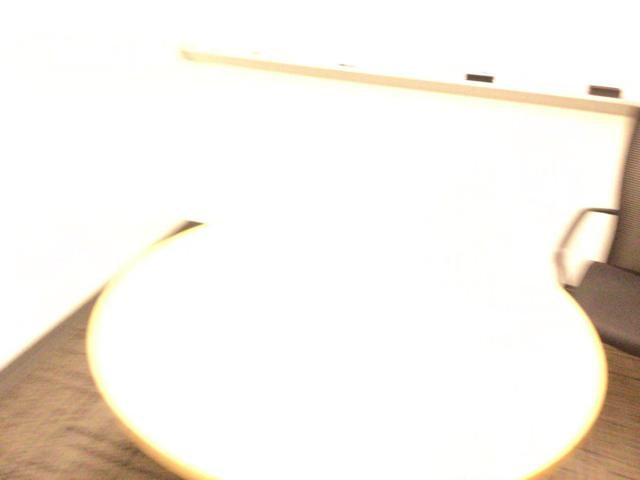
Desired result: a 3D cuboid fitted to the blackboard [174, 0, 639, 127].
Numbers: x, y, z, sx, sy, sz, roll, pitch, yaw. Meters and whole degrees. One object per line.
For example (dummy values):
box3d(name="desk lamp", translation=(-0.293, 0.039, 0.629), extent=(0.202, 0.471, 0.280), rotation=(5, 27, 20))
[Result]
box3d(name="blackboard", translation=(0.620, -0.710, 1.930), extent=(2.430, 0.510, 0.140), rotation=(11, 28, 15))
